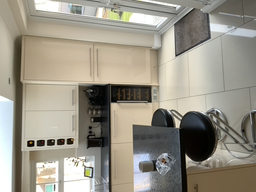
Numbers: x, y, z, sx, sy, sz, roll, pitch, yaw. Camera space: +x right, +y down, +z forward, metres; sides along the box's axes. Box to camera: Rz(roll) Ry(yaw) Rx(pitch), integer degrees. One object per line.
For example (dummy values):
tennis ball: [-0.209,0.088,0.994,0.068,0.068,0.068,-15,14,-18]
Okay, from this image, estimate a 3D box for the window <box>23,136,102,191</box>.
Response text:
window: [-1.090,1.790,3.620,0.340,1.250,2.090,173,97,-70]
